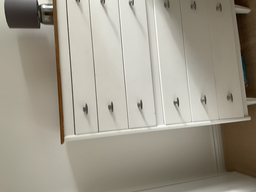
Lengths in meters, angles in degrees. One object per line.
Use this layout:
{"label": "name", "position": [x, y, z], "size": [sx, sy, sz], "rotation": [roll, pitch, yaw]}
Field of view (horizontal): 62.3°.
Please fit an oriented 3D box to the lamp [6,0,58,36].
{"label": "lamp", "position": [-0.540, -0.460, 1.220], "size": [0.180, 0.240, 0.160], "rotation": [161, 105, -73]}
